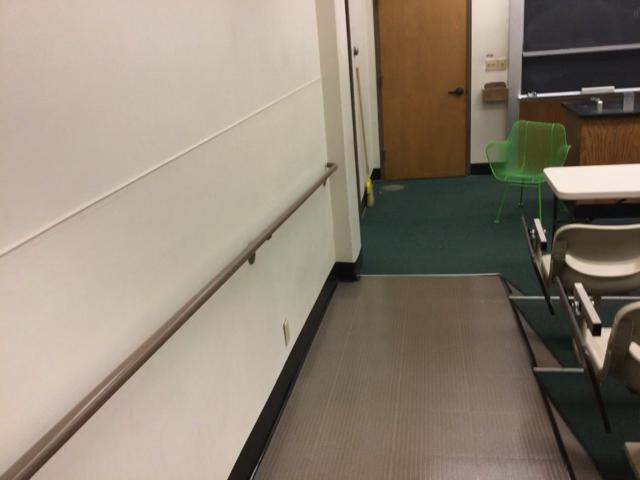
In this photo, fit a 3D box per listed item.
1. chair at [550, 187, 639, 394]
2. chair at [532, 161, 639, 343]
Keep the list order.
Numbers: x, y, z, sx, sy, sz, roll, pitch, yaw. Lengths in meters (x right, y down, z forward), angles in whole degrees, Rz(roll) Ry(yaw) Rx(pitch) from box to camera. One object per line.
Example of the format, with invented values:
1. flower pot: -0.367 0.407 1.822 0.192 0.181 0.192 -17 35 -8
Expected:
1. chair: 1.320 0.210 2.640 0.480 0.790 0.510 -1 18 21
2. chair: 1.660 0.030 3.160 0.630 0.770 0.700 -21 21 -35
